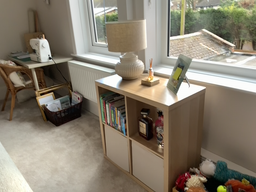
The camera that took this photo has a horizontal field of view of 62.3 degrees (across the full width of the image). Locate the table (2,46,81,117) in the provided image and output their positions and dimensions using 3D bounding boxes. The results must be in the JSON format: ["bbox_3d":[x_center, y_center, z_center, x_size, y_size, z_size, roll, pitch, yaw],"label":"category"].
[{"bbox_3d":[-1.420,-0.320,3.410,0.670,0.750,1.280,-20,27,-36],"label":"table"}]

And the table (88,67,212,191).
[{"bbox_3d":[0.140,0.240,1.770,0.510,0.750,0.830,-20,27,-36],"label":"table"}]

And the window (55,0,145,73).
[{"bbox_3d":[-0.370,-1.040,2.430,0.540,1.290,1.030,-19,26,-34],"label":"window"}]
